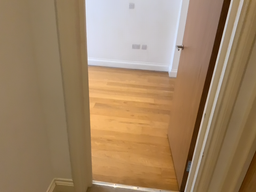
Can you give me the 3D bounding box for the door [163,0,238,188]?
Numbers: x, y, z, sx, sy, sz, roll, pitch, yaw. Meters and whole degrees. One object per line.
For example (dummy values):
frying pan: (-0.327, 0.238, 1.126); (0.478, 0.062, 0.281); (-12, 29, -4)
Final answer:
door: (0.500, -0.320, 1.630); (0.100, 1.990, 0.810); (3, 27, 0)
